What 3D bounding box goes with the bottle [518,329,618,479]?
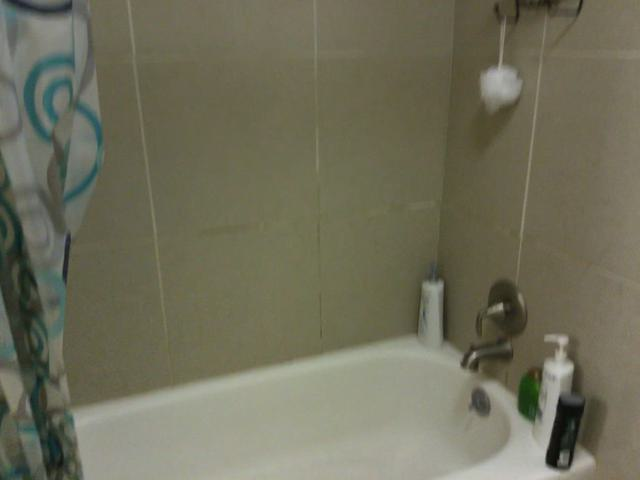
[{"bbox_3d":[0.620,0.410,1.470,0.090,0.300,0.200,-5,18,-18],"label":"bottle"}]
